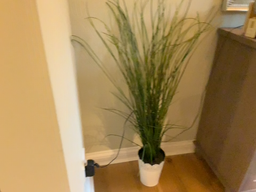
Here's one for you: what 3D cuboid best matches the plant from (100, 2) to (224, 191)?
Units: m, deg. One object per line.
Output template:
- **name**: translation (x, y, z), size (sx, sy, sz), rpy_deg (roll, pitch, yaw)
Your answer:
- **plant**: translation (0.110, 0.060, 1.140), size (0.450, 1.010, 0.270), rpy_deg (-5, 30, -12)
